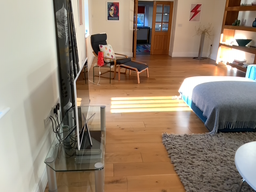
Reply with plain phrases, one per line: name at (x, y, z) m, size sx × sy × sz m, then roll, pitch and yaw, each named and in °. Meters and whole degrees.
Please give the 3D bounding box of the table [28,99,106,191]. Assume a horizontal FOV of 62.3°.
table at (-0.500, 0.440, 2.130) m, size 0.530 × 0.450 × 1.120 m, roll 0°, pitch 21°, yaw -5°

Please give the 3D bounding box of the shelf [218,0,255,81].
shelf at (3.320, -1.760, 5.670) m, size 0.430 × 2.280 × 2.090 m, roll 0°, pitch 21°, yaw -5°

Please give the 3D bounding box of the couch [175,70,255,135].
couch at (1.610, 0.010, 3.340) m, size 1.310 × 0.520 × 1.390 m, roll 0°, pitch 21°, yaw -5°
